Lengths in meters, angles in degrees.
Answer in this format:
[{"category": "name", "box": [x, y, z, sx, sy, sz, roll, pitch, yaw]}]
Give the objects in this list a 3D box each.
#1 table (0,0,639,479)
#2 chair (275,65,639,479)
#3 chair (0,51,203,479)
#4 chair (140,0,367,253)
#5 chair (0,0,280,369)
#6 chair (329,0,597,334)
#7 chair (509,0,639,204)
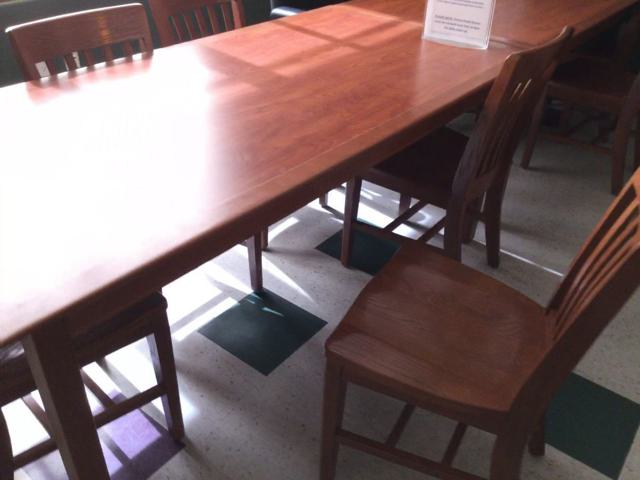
[{"category": "table", "box": [0.340, -0.510, 2.320, 1.050, 0.820, 3.630, 25, 41, 30]}, {"category": "chair", "box": [0.320, 0.190, 1.250, 0.580, 0.880, 0.580, 25, 41, 30]}, {"category": "chair", "box": [-0.670, 0.150, 1.250, 0.500, 0.890, 0.550, 25, 41, 30]}, {"category": "chair", "box": [-0.240, -0.540, 2.280, 0.560, 0.880, 0.580, 25, 41, 30]}, {"category": "chair", "box": [-0.500, -0.190, 1.770, 0.530, 0.880, 0.520, 25, 41, 30]}, {"category": "chair", "box": [0.430, -0.270, 1.940, 0.570, 0.870, 0.520, 25, 41, 30]}, {"category": "chair", "box": [1.350, -0.750, 2.640, 0.580, 0.870, 0.580, 25, 41, 30]}]
